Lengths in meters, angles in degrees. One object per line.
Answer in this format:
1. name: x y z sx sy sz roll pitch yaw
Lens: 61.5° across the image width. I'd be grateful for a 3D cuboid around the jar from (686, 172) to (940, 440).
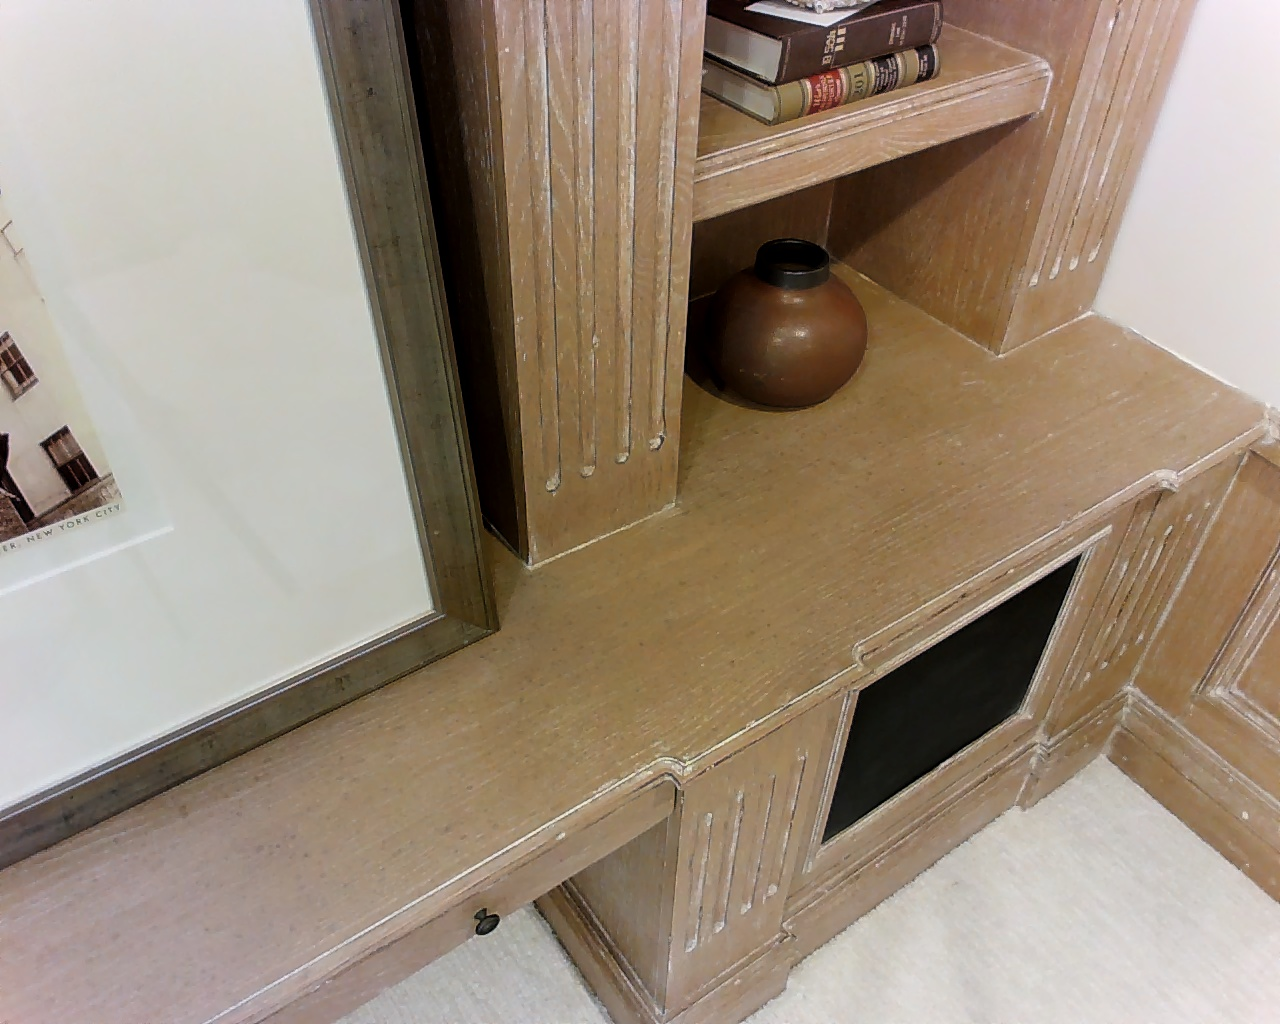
1. jar: 0.220 -0.280 1.440 0.230 0.230 0.210 -25 48 -25
